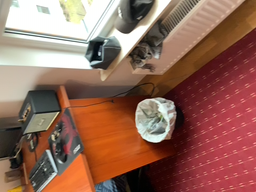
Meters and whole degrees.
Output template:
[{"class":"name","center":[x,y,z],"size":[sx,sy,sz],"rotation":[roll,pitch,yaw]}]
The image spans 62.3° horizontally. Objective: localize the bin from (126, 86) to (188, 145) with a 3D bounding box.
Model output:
[{"class":"bin","center":[0.200,0.130,1.550],"size":[0.340,0.190,0.240],"rotation":[51,126,31]}]

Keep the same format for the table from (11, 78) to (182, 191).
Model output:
[{"class":"table","center":[-0.360,0.490,1.800],"size":[1.190,0.790,0.710],"rotation":[-43,63,39]}]
